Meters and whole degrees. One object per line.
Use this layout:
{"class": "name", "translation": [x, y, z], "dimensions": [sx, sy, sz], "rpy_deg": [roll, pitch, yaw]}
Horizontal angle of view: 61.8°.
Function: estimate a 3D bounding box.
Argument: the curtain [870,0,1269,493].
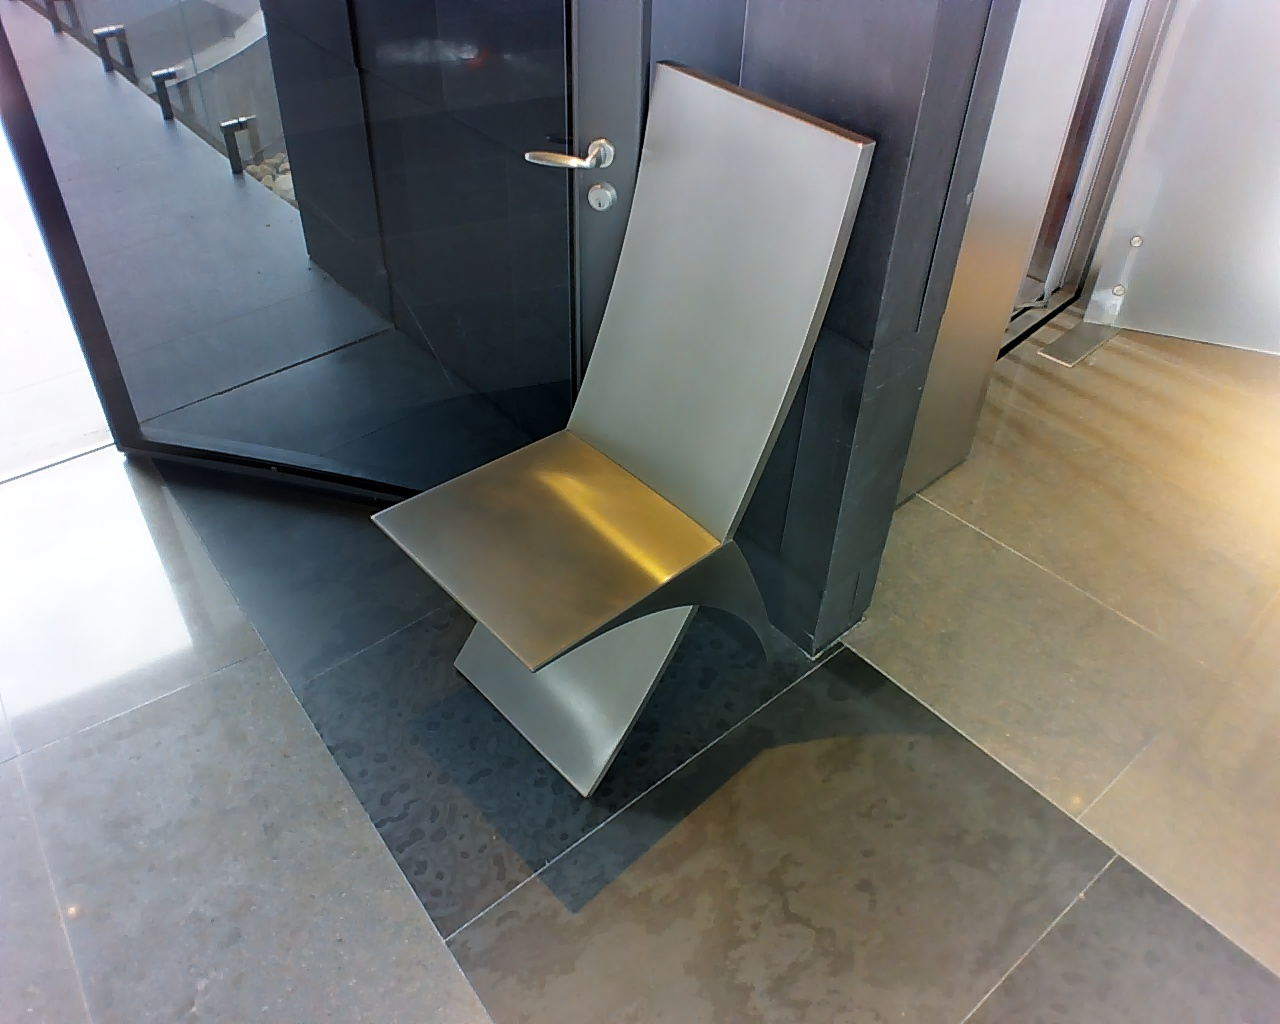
{"class": "curtain", "translation": [1.070, -1.160, 2.290], "dimensions": [0.270, 2.150, 1.040], "rpy_deg": [33, 50, 31]}
